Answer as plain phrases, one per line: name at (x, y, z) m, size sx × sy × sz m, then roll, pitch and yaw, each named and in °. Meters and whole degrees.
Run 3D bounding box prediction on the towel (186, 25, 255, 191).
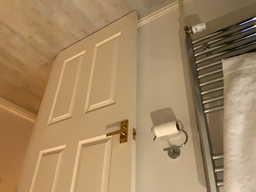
towel at (0.550, 0.000, 0.720) m, size 0.610 × 0.620 × 0.120 m, roll -17°, pitch 142°, yaw 28°
